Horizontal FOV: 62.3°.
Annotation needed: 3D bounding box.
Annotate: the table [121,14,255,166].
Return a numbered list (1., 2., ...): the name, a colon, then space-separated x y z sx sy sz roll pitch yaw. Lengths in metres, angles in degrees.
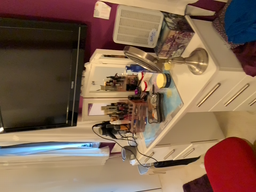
1. table: 0.520 0.090 1.670 1.270 0.780 0.430 116 148 -50
